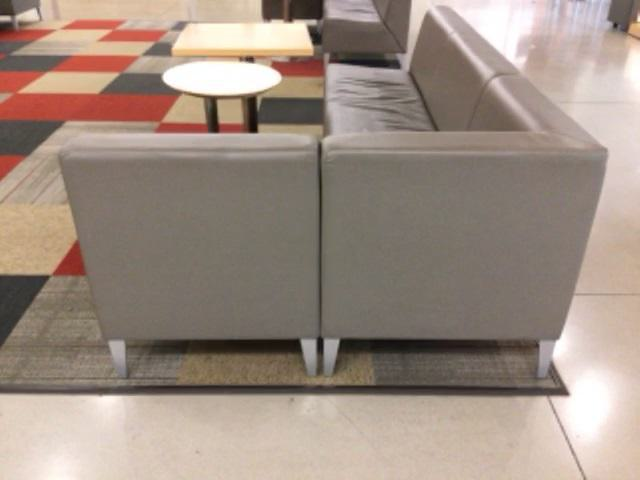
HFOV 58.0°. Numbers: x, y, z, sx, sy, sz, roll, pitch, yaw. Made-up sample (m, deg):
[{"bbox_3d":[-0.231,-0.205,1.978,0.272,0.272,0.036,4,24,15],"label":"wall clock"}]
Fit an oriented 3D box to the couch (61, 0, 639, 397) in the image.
[{"bbox_3d":[0.080,-0.460,2.500,1.360,0.790,2.210,1,33,0],"label":"couch"}]
